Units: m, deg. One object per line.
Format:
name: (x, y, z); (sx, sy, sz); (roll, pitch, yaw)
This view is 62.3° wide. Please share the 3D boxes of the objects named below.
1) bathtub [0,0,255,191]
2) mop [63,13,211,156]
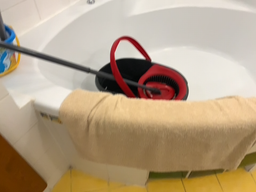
bathtub: (0.390, -0.110, 1.170); (1.470, 0.750, 1.490); (29, 56, 20)
mop: (0.060, -0.070, 1.120); (0.540, 0.430, 0.450); (18, 53, 13)
